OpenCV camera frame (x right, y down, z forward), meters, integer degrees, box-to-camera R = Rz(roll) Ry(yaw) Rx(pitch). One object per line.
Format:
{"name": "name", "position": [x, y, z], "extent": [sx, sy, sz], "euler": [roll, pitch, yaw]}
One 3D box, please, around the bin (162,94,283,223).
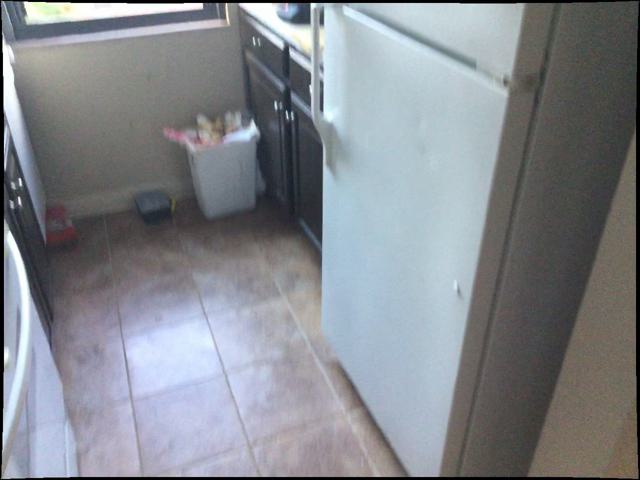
{"name": "bin", "position": [-0.429, -0.371, 2.590], "extent": [0.439, 0.421, 0.270], "euler": [-15, 38, -17]}
